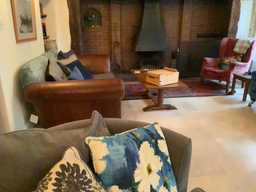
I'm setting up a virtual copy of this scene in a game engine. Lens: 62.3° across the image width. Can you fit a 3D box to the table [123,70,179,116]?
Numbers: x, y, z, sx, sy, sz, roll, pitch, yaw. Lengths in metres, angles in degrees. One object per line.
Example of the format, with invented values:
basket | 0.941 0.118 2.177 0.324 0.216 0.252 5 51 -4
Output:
table | 0.320 -0.100 3.490 0.630 0.450 1.010 -3 19 -10
